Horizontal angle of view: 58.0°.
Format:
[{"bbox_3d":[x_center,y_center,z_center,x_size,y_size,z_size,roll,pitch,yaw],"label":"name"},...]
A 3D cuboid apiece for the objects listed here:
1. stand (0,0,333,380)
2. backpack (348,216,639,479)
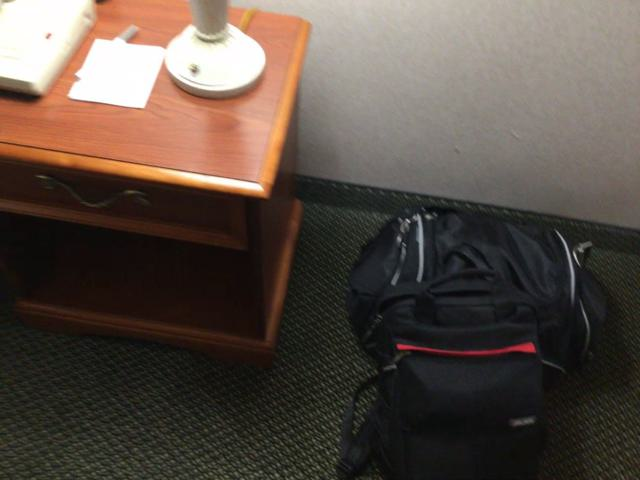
[{"bbox_3d":[-0.330,-0.130,1.140,0.610,0.660,0.480,9,52,1],"label":"stand"},{"bbox_3d":[0.290,0.260,1.080,0.400,0.400,0.390,9,52,1],"label":"backpack"}]
